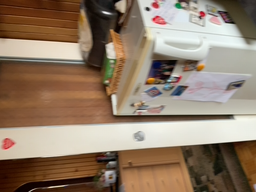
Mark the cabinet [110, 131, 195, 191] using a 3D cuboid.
[{"bbox_3d":[0.290,1.070,2.650,0.410,0.860,1.130,113,152,-53],"label":"cabinet"}]
